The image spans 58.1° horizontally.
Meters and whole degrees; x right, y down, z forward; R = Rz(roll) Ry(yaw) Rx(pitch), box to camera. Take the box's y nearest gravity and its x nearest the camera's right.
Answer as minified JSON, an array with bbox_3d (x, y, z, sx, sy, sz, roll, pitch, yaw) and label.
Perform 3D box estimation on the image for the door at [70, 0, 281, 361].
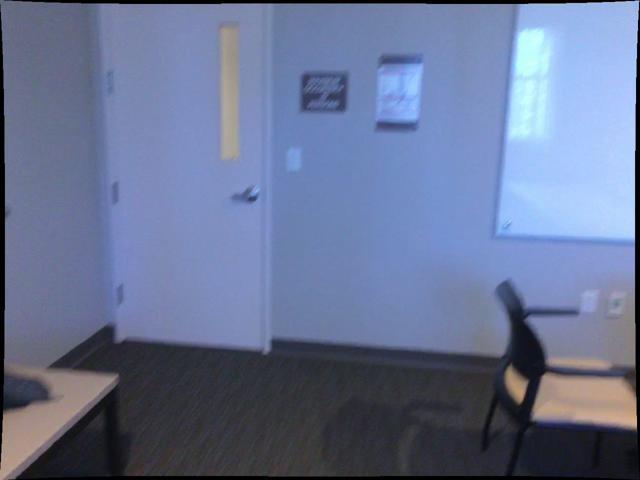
[{"bbox_3d":[-0.769,-0.491,3.190,1.058,2.364,0.160,2,13,7],"label":"door"}]
